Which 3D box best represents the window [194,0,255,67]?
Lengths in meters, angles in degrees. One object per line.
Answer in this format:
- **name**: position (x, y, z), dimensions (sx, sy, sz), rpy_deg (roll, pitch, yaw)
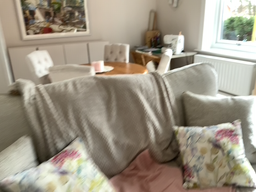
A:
- **window**: position (1.540, -1.170, 2.970), dimensions (0.540, 1.290, 1.030), rpy_deg (-10, 22, -23)
